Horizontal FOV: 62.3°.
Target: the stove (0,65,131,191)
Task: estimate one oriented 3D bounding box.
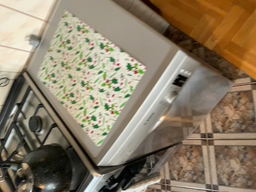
[{"bbox_3d":[-0.370,0.260,0.950,0.610,0.170,0.520,44,112,27],"label":"stove"}]
